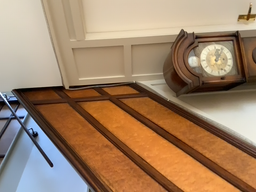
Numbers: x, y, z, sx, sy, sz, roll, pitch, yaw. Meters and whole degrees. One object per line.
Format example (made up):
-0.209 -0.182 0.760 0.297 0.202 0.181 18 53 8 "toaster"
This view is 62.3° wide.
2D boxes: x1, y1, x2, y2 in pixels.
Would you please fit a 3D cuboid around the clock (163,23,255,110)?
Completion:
0.920 -0.180 1.180 0.350 1.370 0.280 90 175 -53 "clock"
